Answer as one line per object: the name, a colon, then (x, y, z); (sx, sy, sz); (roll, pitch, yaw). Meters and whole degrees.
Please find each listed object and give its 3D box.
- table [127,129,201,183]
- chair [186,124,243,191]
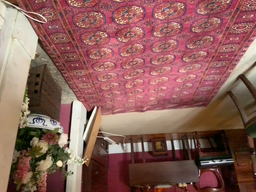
table: (0.540, 0.990, 3.460); (1.060, 0.730, 0.370); (-4, 155, 1)
chair: (1.290, 0.980, 3.320); (0.500, 0.900, 0.590); (-5, 155, 1)
